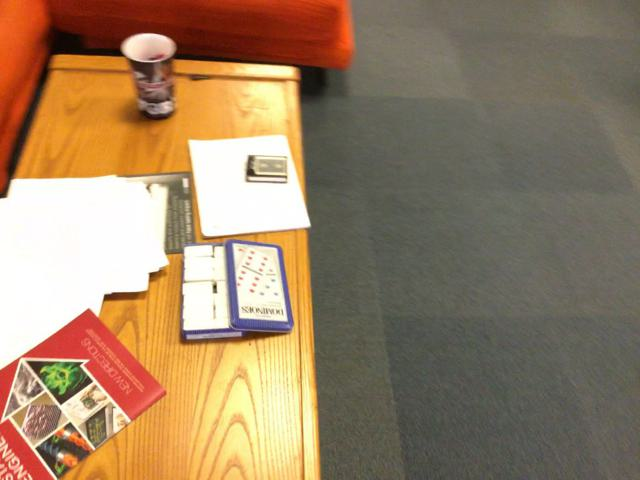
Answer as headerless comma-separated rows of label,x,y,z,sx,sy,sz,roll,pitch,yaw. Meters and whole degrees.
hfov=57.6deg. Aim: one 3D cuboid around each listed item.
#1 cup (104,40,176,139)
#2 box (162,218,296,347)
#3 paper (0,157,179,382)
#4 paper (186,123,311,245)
cup,-0.380,-0.320,1.250,0.110,0.180,0.100,-1,50,-6
box,-0.170,0.070,1.060,0.210,0.050,0.220,-8,51,-12
paper,-0.480,0.030,1.070,0.390,0.060,0.470,0,50,-6
paper,-0.160,-0.130,1.240,0.220,0.040,0.300,-7,51,-12
